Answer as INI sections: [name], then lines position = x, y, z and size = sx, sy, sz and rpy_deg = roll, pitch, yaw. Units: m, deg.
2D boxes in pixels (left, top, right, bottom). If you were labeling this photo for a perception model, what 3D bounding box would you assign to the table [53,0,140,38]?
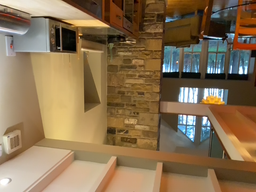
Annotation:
[table]
position = -0.310, -1.340, 3.050
size = 0.720, 0.820, 1.640
rpy_deg = 3, -169, 12
